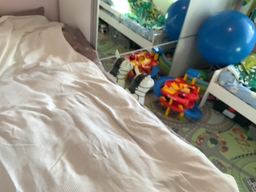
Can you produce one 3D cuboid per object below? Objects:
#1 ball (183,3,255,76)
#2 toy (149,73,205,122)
[{"bbox_3d":[1.040,-0.630,2.270,0.520,0.520,0.550,-19,47,-32],"label":"ball"},{"bbox_3d":[0.520,0.000,2.330,0.330,0.250,0.460,-17,46,-30],"label":"toy"}]
